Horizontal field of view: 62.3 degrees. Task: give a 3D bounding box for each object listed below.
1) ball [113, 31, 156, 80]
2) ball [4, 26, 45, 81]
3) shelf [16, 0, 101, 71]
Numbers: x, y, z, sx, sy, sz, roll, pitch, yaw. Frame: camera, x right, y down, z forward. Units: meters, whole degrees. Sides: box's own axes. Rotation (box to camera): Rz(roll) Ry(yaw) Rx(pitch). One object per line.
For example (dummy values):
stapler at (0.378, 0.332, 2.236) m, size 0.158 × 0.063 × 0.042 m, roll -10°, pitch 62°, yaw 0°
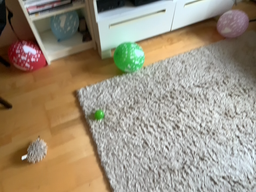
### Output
ball at (0.040, -0.300, 1.570) m, size 0.230 × 0.210 × 0.220 m, roll -20°, pitch 58°, yaw -13°
ball at (-0.780, -0.330, 1.600) m, size 0.190 × 0.160 × 0.370 m, roll -19°, pitch 58°, yaw -12°
shelf at (-0.480, -0.680, 1.310) m, size 0.420 × 1.060 × 0.320 m, roll -21°, pitch 59°, yaw -14°
